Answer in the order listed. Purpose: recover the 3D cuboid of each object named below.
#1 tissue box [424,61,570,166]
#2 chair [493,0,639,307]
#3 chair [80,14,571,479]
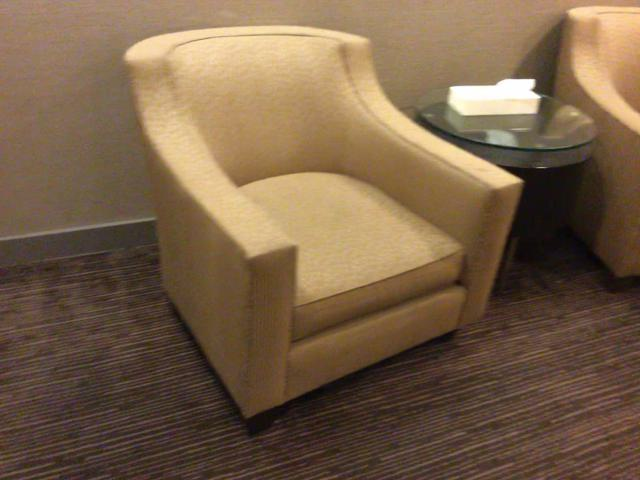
[{"bbox_3d":[0.600,-0.450,2.010,0.340,0.240,0.300,-11,33,-19],"label":"tissue box"},{"bbox_3d":[1.390,-0.430,2.270,0.920,0.890,0.970,-4,31,-9],"label":"chair"},{"bbox_3d":[-0.050,-0.120,1.740,0.910,0.840,0.980,-18,36,-28],"label":"chair"}]
